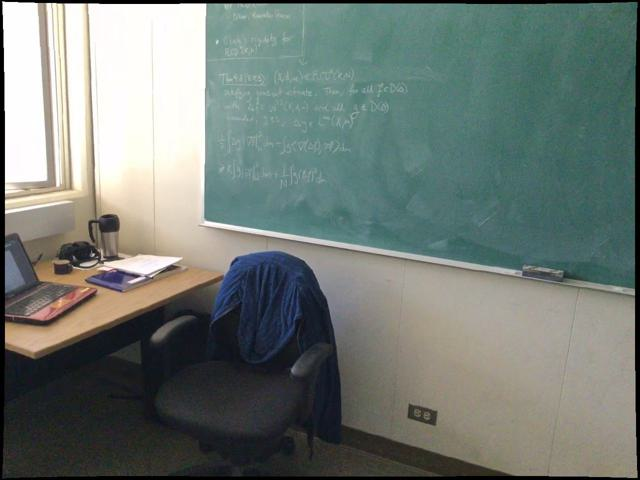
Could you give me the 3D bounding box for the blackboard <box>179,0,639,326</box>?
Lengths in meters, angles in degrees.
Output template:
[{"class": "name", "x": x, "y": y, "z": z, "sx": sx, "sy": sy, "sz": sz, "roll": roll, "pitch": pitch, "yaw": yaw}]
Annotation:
[{"class": "blackboard", "x": 0.608, "y": -0.441, "z": 1.890, "sx": 2.535, "sy": 1.293, "sz": 0.170, "roll": 8, "pitch": 16, "yaw": 25}]
